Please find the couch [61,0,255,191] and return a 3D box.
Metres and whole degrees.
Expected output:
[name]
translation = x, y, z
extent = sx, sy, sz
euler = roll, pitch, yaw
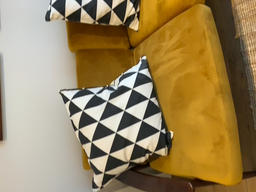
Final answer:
[couch]
translation = 0.130, -0.390, 1.330
extent = 0.890, 0.760, 1.660
euler = -15, 80, 54
